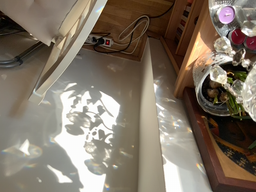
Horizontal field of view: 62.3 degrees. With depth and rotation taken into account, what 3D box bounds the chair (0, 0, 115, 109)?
[{"bbox_3d":[-0.330,-0.440,0.790,0.490,0.840,0.410,38,113,-16],"label":"chair"}]
